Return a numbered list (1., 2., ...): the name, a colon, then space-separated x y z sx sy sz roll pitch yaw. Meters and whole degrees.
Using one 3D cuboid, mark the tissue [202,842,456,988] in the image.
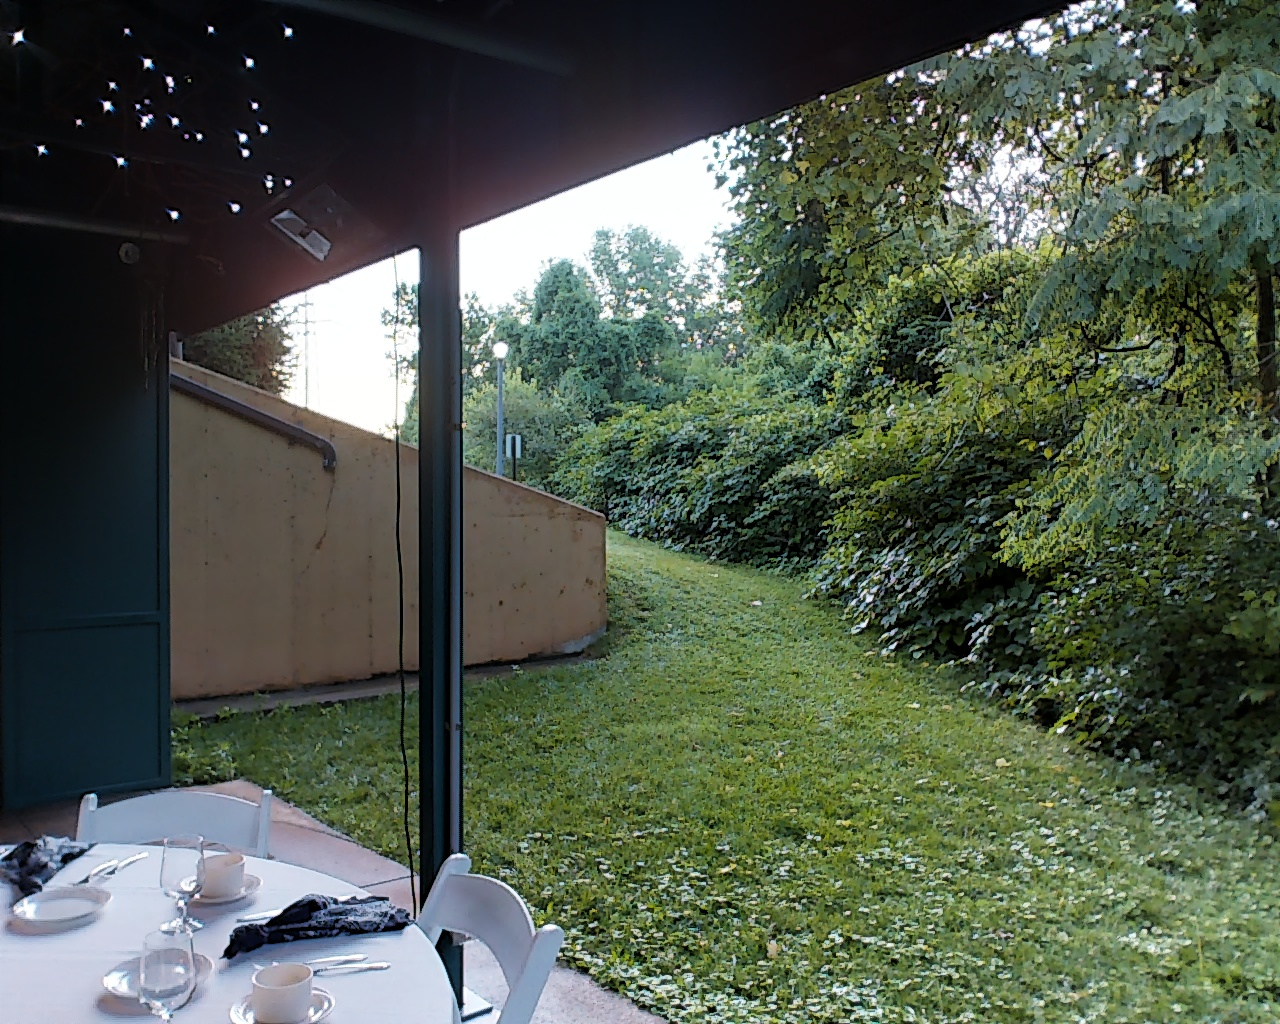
1. tissue: -0.550 0.700 1.910 0.370 0.100 0.240 0 1 -37
